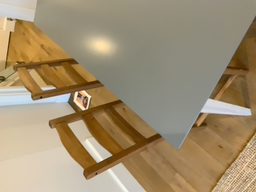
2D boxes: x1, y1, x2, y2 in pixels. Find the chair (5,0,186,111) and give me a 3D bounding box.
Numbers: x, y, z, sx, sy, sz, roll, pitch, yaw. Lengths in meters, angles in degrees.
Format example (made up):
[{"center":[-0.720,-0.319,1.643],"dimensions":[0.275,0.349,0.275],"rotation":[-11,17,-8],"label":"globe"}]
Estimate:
[{"center":[-0.160,-0.290,1.310],"dimensions":[0.450,0.910,0.500],"rotation":[39,119,35],"label":"chair"}]
